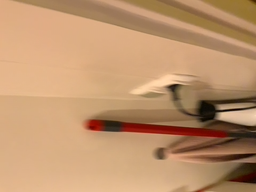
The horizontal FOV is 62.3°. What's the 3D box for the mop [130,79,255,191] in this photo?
[{"bbox_3d":[0.560,0.130,0.810,0.290,1.120,0.230,-23,69,53],"label":"mop"}]
